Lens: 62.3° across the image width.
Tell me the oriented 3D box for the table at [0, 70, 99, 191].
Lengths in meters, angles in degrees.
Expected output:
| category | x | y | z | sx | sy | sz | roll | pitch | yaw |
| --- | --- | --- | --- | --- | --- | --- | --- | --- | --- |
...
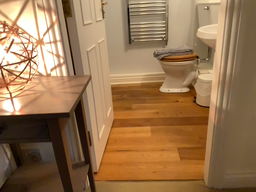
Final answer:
| category | x | y | z | sx | sy | sz | roll | pitch | yaw |
| --- | --- | --- | --- | --- | --- | --- | --- | --- | --- |
| table | -0.410 | 0.290 | 0.900 | 0.450 | 0.690 | 0.390 | -3 | 23 | 1 |
